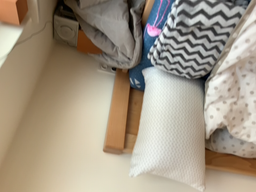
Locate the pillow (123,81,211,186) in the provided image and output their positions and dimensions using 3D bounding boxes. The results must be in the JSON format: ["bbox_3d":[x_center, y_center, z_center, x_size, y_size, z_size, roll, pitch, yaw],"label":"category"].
[{"bbox_3d":[0.180,0.190,1.080,0.330,0.420,0.220,12,144,-10],"label":"pillow"}]
